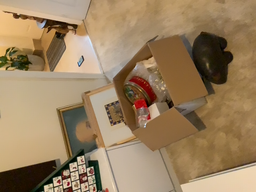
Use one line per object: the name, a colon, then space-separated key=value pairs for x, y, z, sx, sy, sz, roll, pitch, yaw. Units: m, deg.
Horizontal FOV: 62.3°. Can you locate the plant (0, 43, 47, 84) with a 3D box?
plant: x=-1.950 y=-0.560 z=3.780 sx=0.430 sy=0.780 sz=0.540 roll=-41 pitch=62 yaw=43
